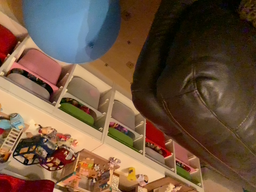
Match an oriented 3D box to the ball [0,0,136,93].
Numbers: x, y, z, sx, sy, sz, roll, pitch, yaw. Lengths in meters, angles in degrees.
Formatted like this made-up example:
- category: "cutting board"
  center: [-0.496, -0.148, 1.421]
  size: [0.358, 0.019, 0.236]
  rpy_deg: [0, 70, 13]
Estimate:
- category: "ball"
  center: [-0.270, -0.380, 1.040]
  size: [0.450, 0.400, 0.450]
  rpy_deg: [25, 133, -18]
